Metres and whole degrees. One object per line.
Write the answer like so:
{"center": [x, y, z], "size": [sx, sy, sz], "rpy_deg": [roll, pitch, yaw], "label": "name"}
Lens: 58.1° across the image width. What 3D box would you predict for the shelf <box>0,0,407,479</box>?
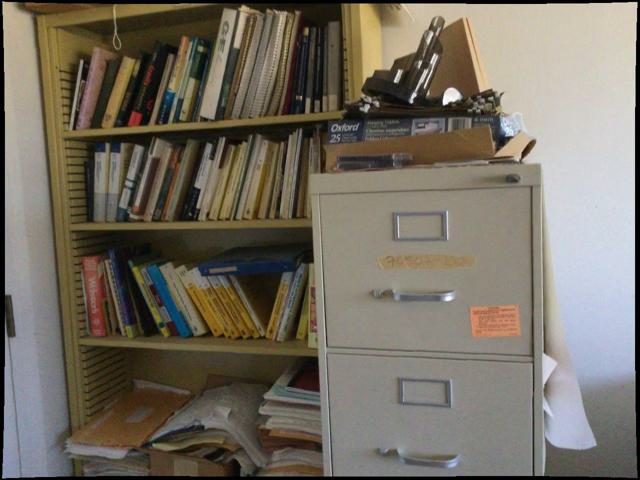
{"center": [-0.299, 0.251, 1.720], "size": [1.028, 1.995, 0.460], "rpy_deg": [-1, 7, 15], "label": "shelf"}
